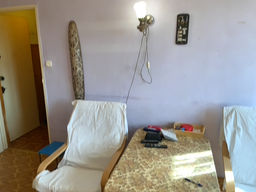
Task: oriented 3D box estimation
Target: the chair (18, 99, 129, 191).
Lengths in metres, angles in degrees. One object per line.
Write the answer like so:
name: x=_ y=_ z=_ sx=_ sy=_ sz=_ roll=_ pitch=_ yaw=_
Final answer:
chair: x=-0.430 y=0.590 z=2.140 sx=0.680 sy=0.890 sz=0.920 roll=2 pitch=14 yaw=12
